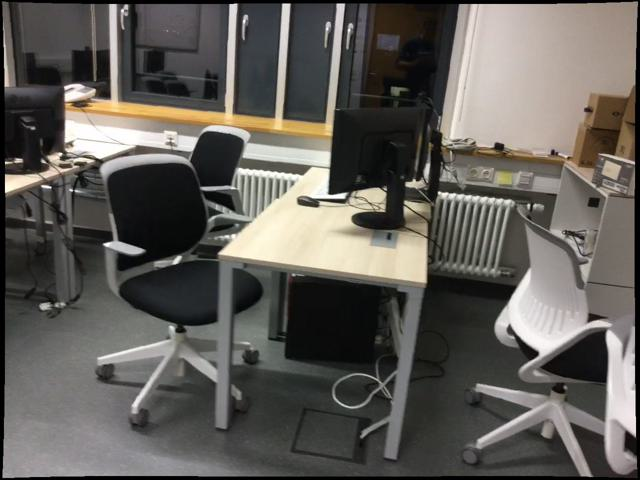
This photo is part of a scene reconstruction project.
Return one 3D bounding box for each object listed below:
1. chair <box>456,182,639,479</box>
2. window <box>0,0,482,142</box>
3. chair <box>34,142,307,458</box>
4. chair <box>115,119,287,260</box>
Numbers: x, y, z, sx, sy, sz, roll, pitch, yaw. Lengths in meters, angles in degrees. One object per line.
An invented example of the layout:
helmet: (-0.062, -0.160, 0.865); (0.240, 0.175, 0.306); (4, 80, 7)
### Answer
chair: (0.909, 0.340, 2.050); (0.699, 0.881, 0.660); (8, 22, 12)
window: (-1.029, -1.632, 3.460); (3.896, 1.691, 0.440); (6, 21, 8)
chair: (-0.569, 0.160, 2.320); (0.740, 0.911, 0.670); (17, 25, 33)
chair: (-0.619, -0.310, 3.100); (0.580, 0.530, 0.660); (19, 26, 35)
